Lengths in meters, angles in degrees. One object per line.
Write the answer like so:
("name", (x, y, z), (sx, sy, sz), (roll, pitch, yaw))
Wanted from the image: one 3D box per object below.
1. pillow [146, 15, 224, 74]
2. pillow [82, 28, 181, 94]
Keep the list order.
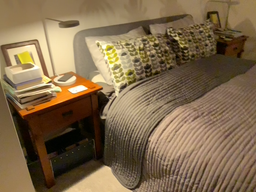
("pillow", (0.580, -0.570, 2.210), (0.650, 0.420, 0.450), (-22, 33, -34))
("pillow", (0.040, -0.340, 1.810), (0.670, 0.330, 0.460), (-21, 33, -33))
